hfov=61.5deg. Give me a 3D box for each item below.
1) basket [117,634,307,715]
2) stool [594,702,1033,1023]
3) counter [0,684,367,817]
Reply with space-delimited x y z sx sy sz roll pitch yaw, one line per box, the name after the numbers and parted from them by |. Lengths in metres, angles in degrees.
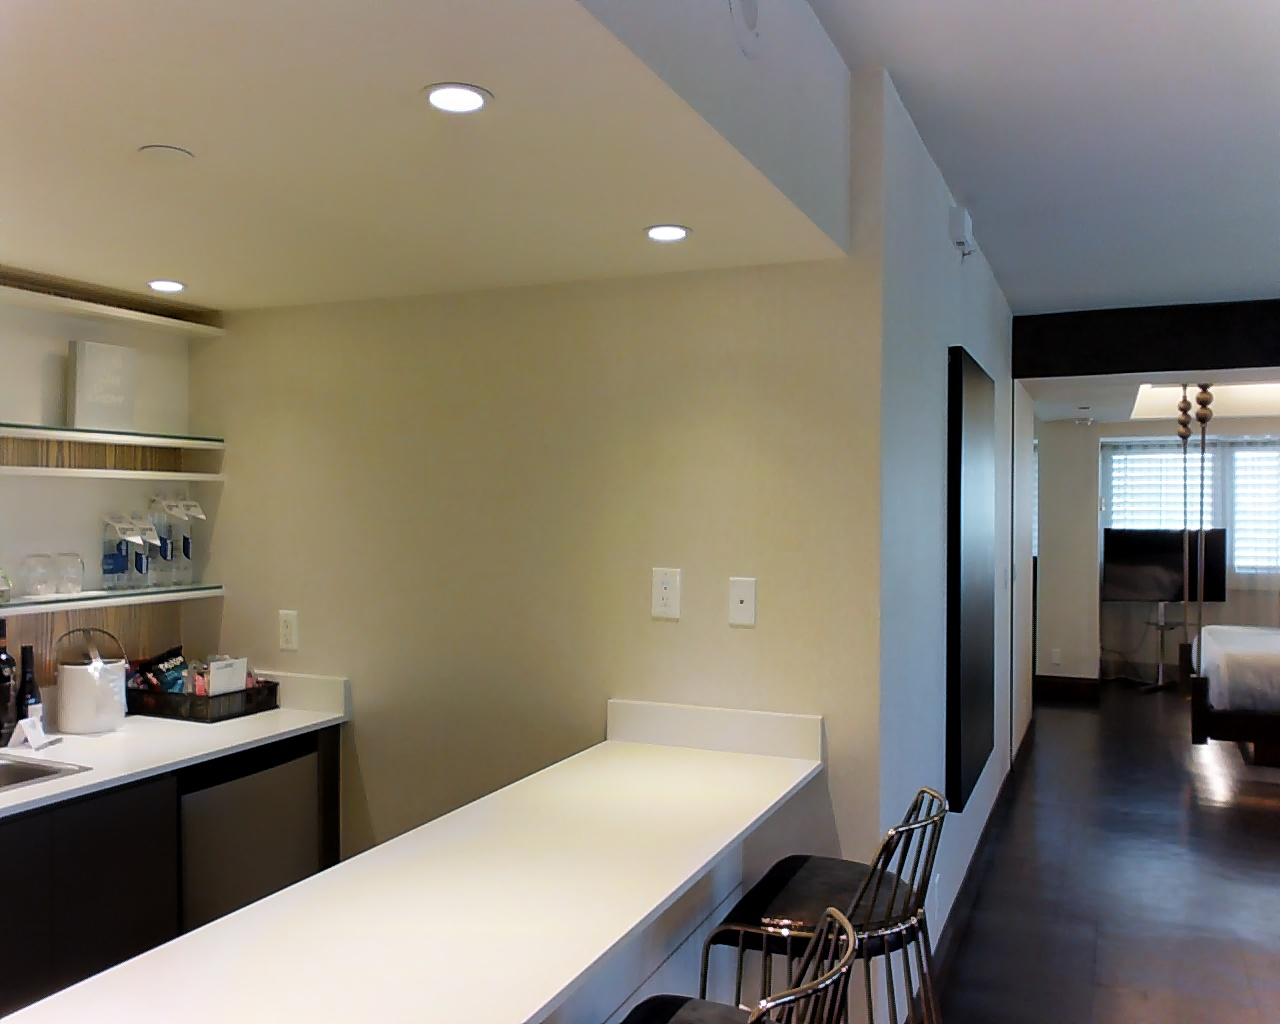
-1.280 0.480 3.230 0.450 0.170 0.300 1 1 23 | basket
0.380 0.970 2.190 0.730 1.000 0.650 1 1 25 | stool
-1.580 0.580 2.260 0.680 0.040 2.290 1 1 24 | counter
